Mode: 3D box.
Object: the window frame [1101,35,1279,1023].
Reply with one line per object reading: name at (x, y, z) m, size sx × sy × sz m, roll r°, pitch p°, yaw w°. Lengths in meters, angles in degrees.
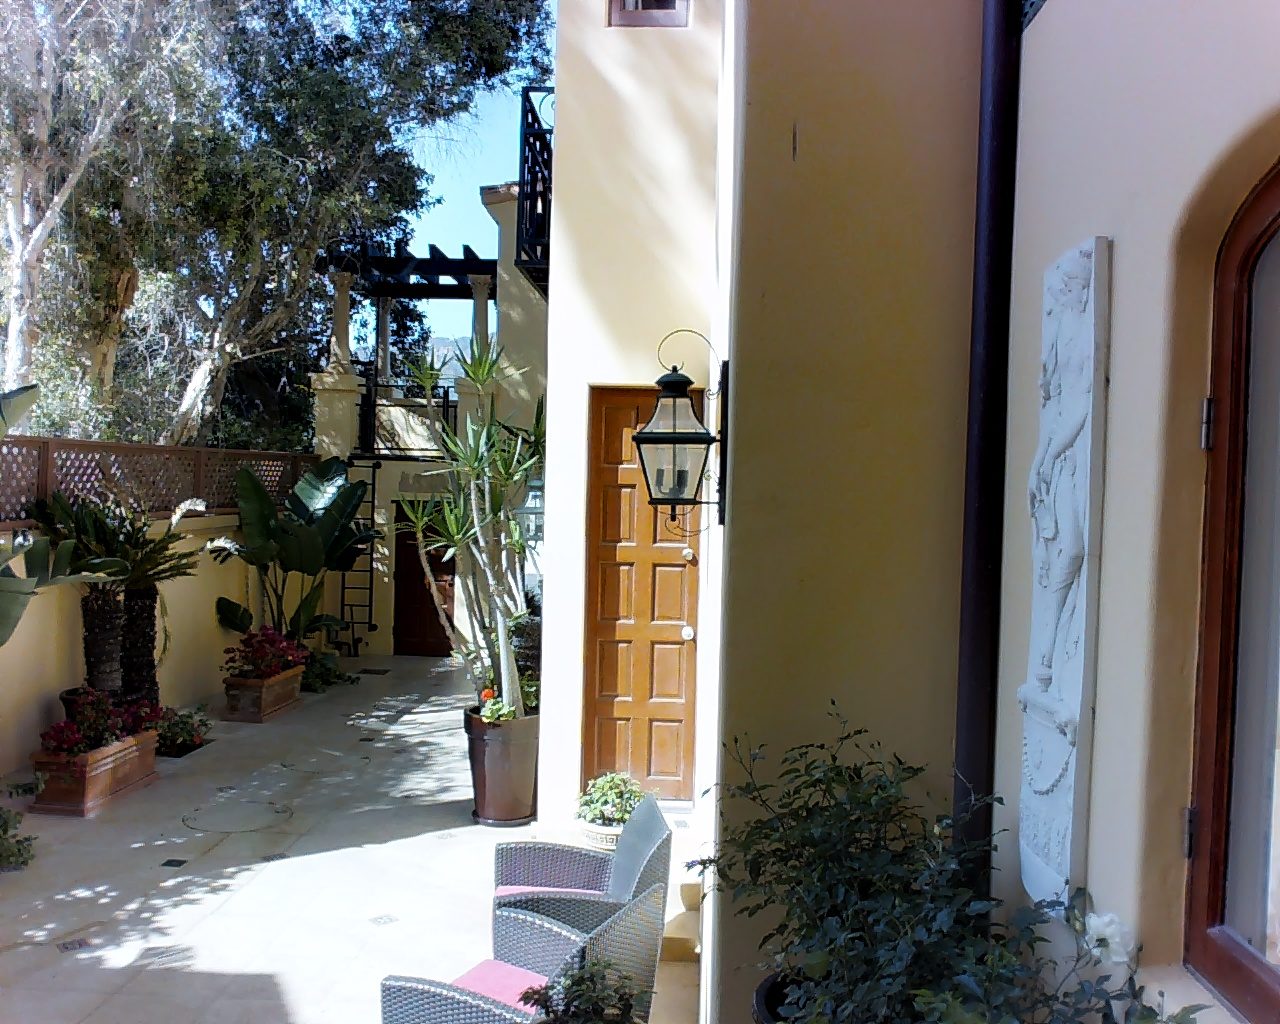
window frame at (0.820, 0.090, 1.360) m, size 0.160 × 1.301 × 0.690 m, roll 1°, pitch 1°, yaw 2°
